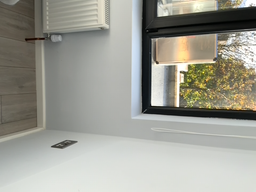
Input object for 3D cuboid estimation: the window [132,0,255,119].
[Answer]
[{"bbox_3d":[0.730,-1.010,1.330,0.080,1.440,2.300,-6,98,-69],"label":"window"}]
